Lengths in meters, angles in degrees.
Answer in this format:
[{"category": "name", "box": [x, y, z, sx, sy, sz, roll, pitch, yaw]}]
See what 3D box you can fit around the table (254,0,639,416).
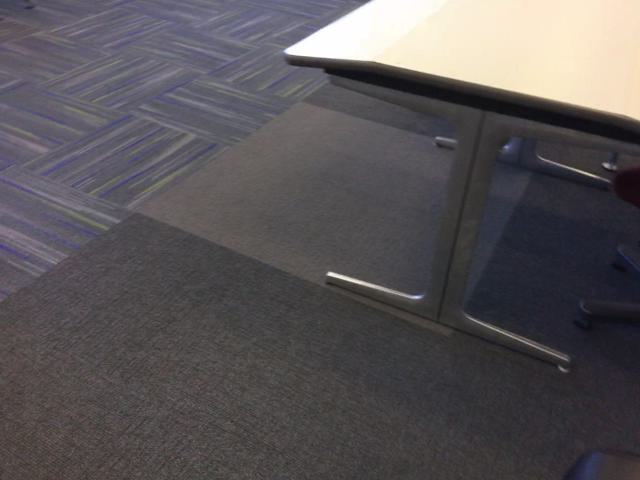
[{"category": "table", "box": [0.610, -0.370, 1.930, 1.130, 0.820, 1.270, 21, 39, 21]}]
